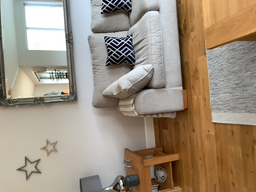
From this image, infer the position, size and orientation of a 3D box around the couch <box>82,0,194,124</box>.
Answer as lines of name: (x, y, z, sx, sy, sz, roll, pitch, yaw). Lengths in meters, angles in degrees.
couch: (0.010, -0.880, 2.680, 1.090, 0.930, 2.270, 175, 91, -70)

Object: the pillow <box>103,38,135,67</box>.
pillow: (-0.120, -0.550, 2.700, 0.230, 0.340, 0.320, -176, 83, -70)

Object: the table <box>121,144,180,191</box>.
table: (0.280, 1.060, 2.910, 0.650, 0.530, 0.620, 170, 96, -70)

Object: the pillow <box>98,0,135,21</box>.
pillow: (-0.160, -1.190, 2.640, 0.200, 0.390, 0.410, 150, 114, -68)
